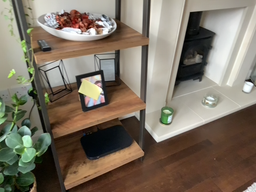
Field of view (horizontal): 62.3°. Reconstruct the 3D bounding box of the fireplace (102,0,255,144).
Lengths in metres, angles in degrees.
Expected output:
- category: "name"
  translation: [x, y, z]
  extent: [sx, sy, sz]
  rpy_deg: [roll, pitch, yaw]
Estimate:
- category: "fireplace"
  translation: [0.640, -0.590, 1.940]
  extent: [1.460, 1.270, 1.020]
  rpy_deg: [-15, 40, -25]
